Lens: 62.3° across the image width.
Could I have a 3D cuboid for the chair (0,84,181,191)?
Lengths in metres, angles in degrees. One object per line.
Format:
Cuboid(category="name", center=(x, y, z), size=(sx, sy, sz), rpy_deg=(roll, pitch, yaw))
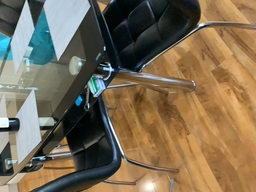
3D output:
Cuboid(category="chair", center=(-0.240, 0.310, 1.140), size=(0.410, 0.960, 0.550), rpy_deg=(-33, 64, 40))
